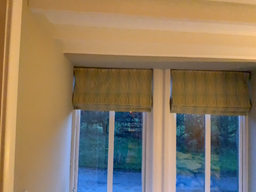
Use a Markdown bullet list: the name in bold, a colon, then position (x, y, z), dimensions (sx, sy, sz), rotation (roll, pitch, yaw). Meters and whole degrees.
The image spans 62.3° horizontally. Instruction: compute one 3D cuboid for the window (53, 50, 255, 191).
- **window**: position (0.320, 0.440, 2.200), dimensions (2.090, 1.720, 0.130), rotation (2, -2, -2)
